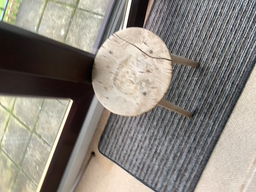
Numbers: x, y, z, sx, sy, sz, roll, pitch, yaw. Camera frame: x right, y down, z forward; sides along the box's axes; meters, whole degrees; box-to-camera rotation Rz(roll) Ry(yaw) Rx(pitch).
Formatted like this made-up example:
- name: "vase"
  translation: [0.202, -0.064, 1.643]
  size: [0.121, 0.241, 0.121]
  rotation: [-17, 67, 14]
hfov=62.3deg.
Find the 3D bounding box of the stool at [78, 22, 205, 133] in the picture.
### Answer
- name: "stool"
  translation: [0.090, -0.060, 0.880]
  size: [0.280, 0.450, 0.280]
  rotation: [26, 99, 27]
